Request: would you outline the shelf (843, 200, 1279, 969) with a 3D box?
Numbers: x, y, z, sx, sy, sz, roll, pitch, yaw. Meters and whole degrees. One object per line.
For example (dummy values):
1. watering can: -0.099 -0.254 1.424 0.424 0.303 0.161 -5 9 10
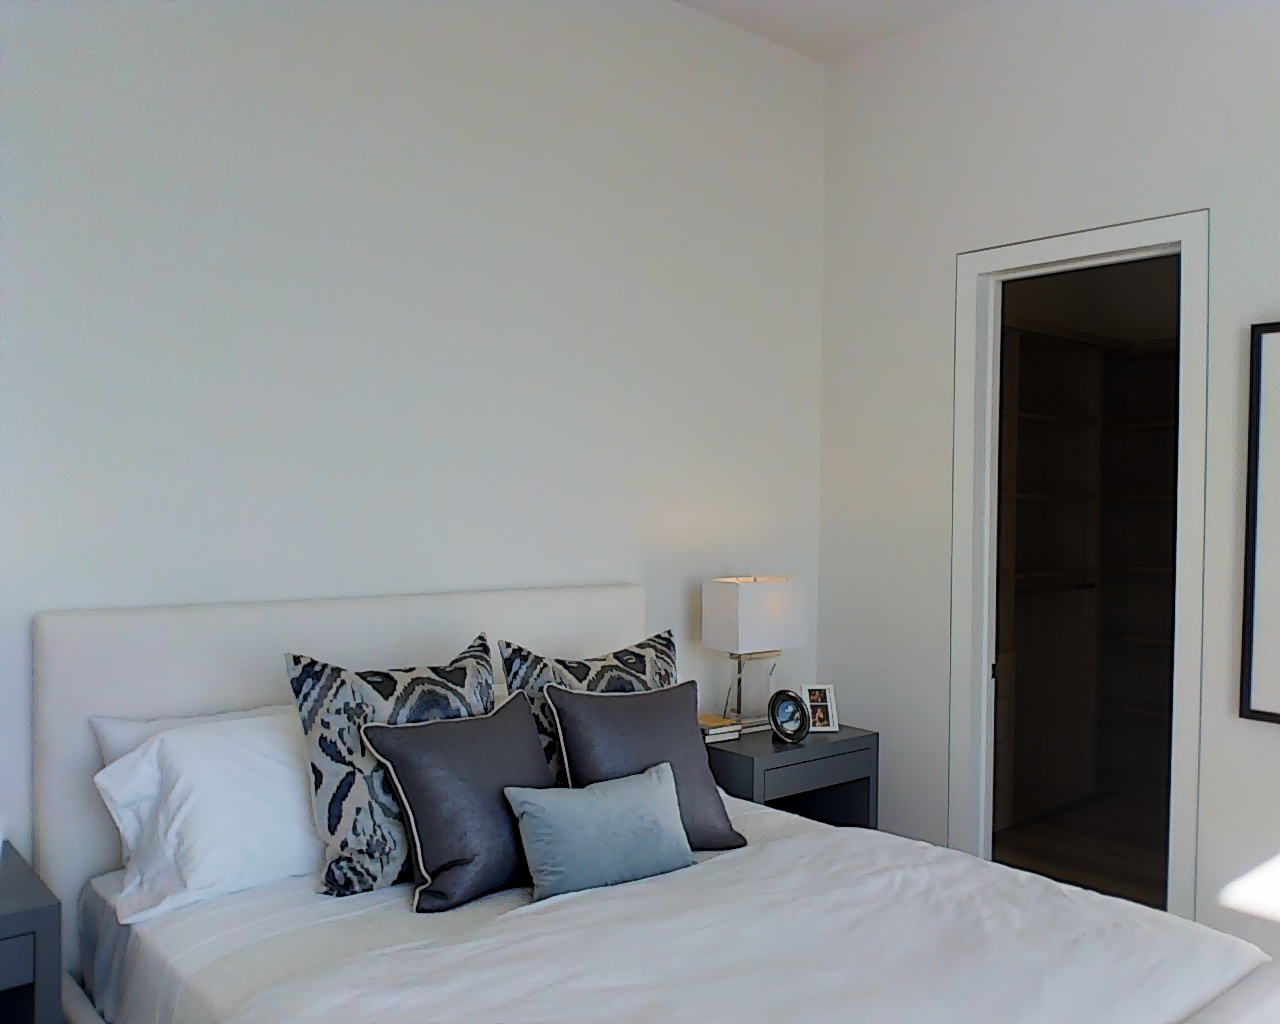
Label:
1. shelf: 2.290 0.260 4.890 2.110 2.540 1.670 3 -1 -42
